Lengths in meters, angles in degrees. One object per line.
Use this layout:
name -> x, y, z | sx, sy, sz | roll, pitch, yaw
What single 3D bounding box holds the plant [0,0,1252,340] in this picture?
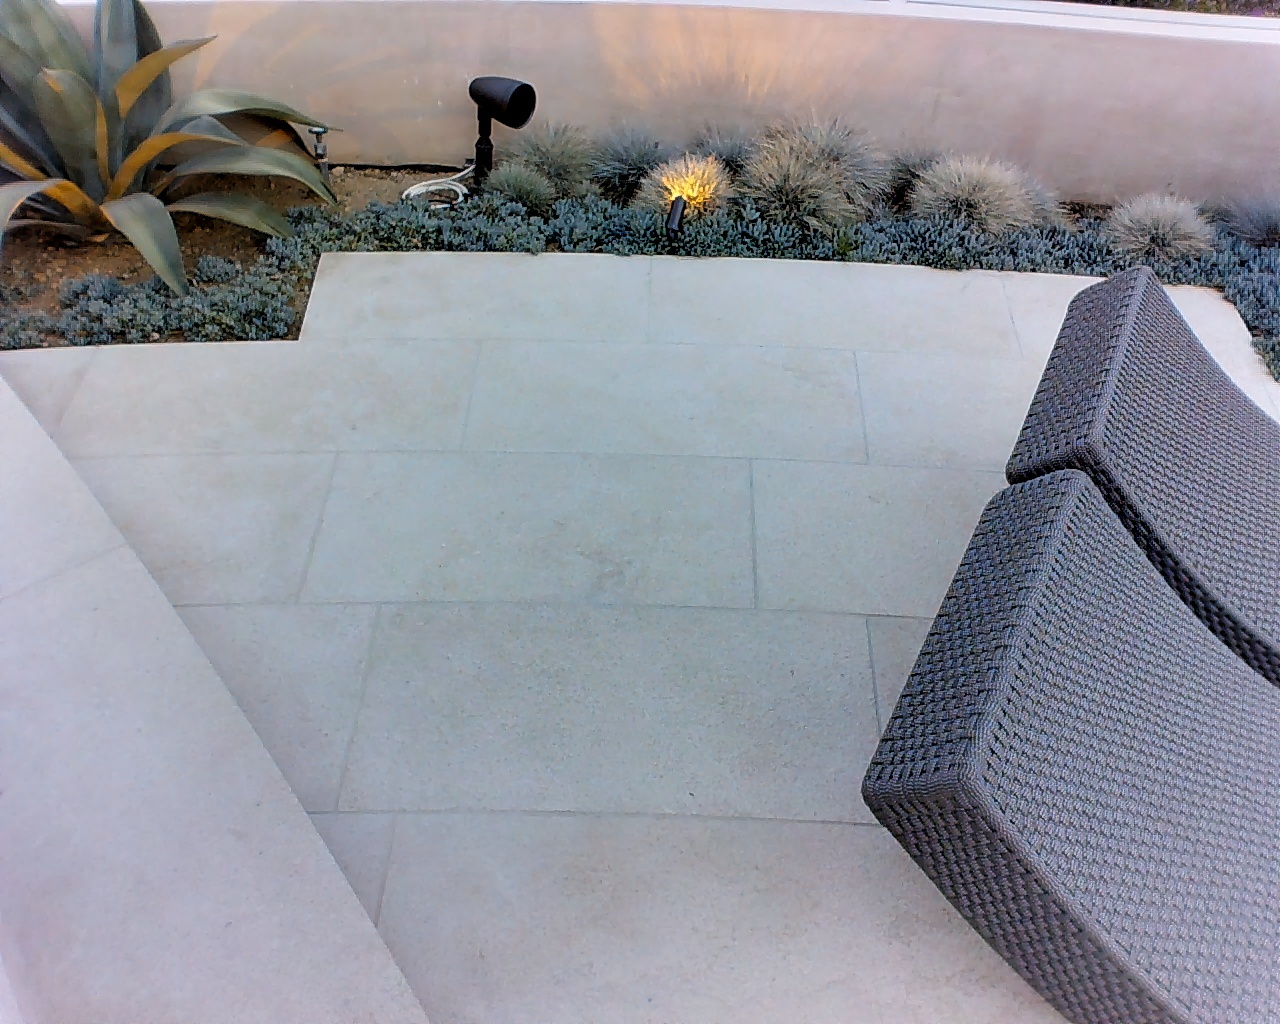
plant -> -0.430, -1.280, 3.200 | 3.849, 0.860, 1.170 | -5, 42, -6
